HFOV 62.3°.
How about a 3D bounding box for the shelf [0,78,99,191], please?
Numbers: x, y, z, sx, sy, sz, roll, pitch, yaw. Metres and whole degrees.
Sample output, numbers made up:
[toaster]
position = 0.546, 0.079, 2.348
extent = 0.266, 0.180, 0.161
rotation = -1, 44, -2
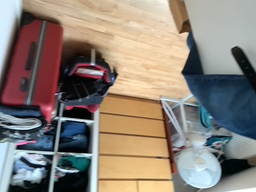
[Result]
[shelf]
position = -0.760, 0.630, 2.150
extent = 0.800, 1.480, 0.490
rotation = 8, 149, -20

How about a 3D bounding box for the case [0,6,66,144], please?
[case]
position = -0.690, -0.130, 1.560
extent = 0.300, 0.810, 0.540
rotation = 9, 149, -21
